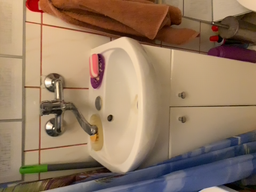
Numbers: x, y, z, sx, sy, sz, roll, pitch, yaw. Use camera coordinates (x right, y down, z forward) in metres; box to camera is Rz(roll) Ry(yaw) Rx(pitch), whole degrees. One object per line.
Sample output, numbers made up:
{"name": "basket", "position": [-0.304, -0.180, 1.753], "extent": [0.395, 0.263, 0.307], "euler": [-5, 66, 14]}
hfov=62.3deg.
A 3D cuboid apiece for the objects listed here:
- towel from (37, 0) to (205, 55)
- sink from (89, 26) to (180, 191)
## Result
{"name": "towel", "position": [0.010, -0.310, 0.770], "extent": [0.160, 0.610, 0.230], "euler": [-1, 89, 58]}
{"name": "sink", "position": [0.000, 0.040, 0.690], "extent": [0.310, 0.140, 0.430], "euler": [2, 92, 58]}
